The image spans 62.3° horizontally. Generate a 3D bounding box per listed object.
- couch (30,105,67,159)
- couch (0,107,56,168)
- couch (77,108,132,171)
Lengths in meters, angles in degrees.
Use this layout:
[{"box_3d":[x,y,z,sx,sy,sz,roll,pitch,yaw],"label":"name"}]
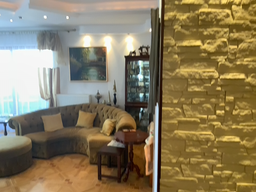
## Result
[{"box_3d":[-1.640,0.680,4.330,0.530,0.830,0.870,-4,9,-30],"label":"couch"},{"box_3d":[-1.980,0.710,4.030,0.890,0.830,0.750,5,9,32],"label":"couch"},{"box_3d":[-0.450,0.730,3.870,0.850,0.840,0.760,-2,8,-18],"label":"couch"}]
